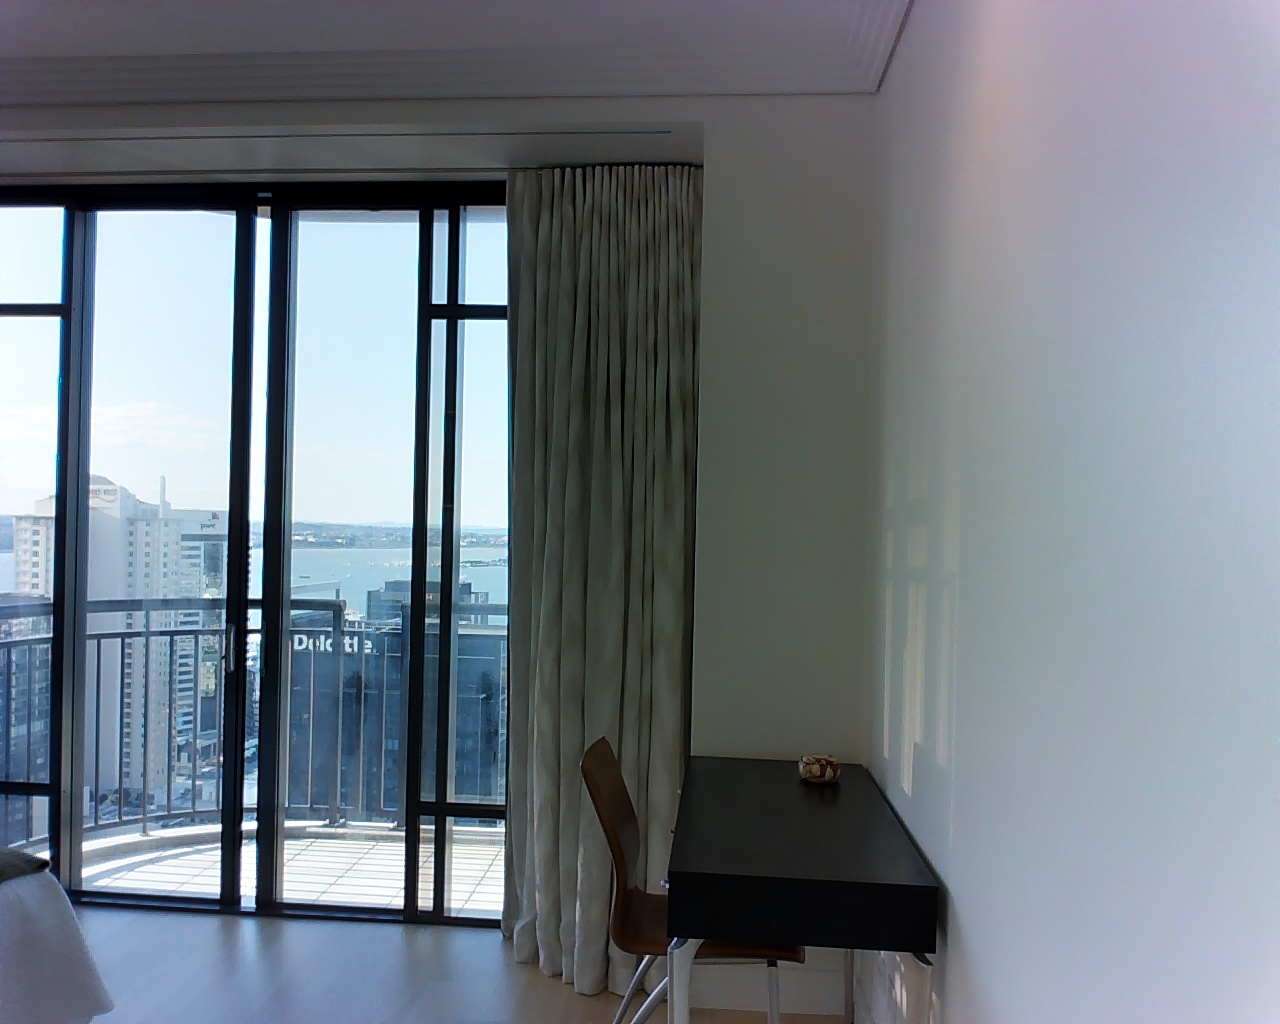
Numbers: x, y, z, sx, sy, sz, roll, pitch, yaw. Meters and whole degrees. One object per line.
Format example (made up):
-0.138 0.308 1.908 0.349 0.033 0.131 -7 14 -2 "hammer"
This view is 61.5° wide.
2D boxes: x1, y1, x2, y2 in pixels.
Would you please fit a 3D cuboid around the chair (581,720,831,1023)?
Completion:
0.160 0.960 2.610 0.540 0.800 0.470 1 0 5 "chair"

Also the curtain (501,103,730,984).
-0.060 0.090 3.430 0.640 2.611 0.440 1 0 5 "curtain"
